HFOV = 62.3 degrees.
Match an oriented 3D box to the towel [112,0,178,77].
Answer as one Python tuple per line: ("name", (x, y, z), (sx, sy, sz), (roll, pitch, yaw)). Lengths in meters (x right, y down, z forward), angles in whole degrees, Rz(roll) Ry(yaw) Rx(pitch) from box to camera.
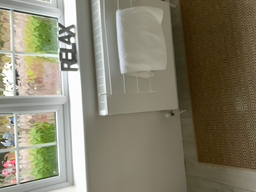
("towel", (0.110, -0.340, 1.310), (0.160, 0.360, 0.410), (-8, 85, 54))

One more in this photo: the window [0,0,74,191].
("window", (-0.980, -0.100, 1.130), (0.050, 1.340, 1.530), (-8, 85, 54))

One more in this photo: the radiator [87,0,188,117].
("radiator", (0.090, -0.290, 1.470), (0.140, 0.700, 0.810), (-11, 82, 54))
